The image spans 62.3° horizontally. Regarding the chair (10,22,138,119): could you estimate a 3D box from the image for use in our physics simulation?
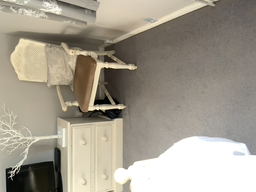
[{"bbox_3d":[-0.560,-0.250,2.060,0.720,0.980,0.530,53,133,43],"label":"chair"}]
